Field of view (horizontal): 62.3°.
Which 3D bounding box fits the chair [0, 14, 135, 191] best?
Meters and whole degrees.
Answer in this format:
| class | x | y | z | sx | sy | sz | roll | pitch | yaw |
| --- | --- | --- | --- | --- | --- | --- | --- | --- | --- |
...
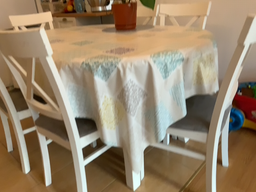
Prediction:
| class | x | y | z | sx | sy | sz | roll | pitch | yaw |
| --- | --- | --- | --- | --- | --- | --- | --- | --- | --- |
| chair | -0.290 | 0.080 | 1.090 | 0.420 | 0.900 | 0.480 | 14 | 28 | 34 |
